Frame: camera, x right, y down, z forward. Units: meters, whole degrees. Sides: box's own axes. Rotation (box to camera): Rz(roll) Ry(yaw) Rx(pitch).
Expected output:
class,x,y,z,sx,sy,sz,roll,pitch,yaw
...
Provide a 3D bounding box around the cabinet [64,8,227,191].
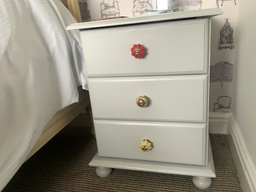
class,x,y,z,sx,sy,sz,roll,pitch,yaw
cabinet,0.110,0.010,0.890,0.460,0.640,0.440,0,20,16
